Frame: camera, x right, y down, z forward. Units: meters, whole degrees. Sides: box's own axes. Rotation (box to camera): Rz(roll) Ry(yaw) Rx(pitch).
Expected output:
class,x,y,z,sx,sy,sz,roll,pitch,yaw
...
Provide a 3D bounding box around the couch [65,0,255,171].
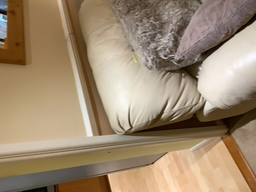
class,x,y,z,sx,sy,sz,roll,pitch,yaw
couch,0.370,-0.380,1.090,1.040,0.980,1.020,-53,47,43
